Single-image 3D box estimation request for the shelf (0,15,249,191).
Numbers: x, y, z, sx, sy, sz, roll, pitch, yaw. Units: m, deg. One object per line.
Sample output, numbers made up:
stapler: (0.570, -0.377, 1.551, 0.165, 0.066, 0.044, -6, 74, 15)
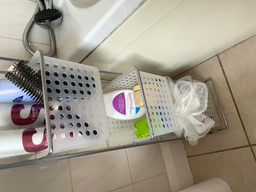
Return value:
shelf: (0.020, 0.050, 0.580, 0.250, 0.720, 0.240, -34, 64, 42)
